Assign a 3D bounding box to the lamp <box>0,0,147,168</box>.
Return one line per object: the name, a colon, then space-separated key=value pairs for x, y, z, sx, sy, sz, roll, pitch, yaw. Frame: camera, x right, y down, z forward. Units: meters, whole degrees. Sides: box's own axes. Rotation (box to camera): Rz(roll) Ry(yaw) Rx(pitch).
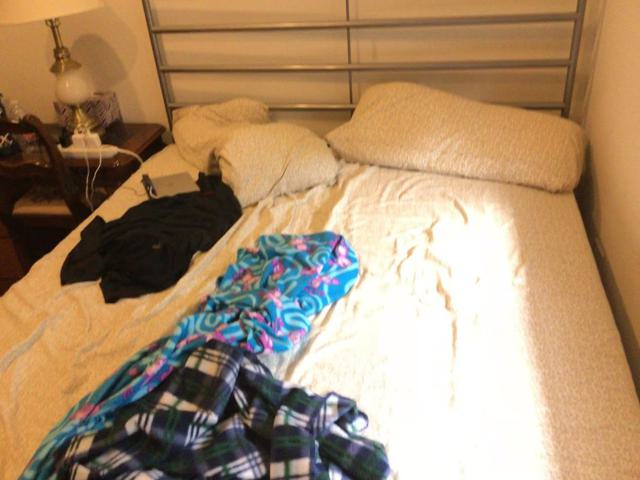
lamp: x=-0.940 y=-0.680 z=2.070 sx=0.350 sy=0.740 sz=0.370 roll=4 pitch=32 yaw=12
